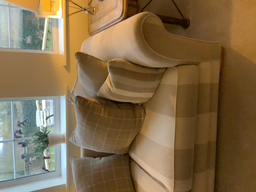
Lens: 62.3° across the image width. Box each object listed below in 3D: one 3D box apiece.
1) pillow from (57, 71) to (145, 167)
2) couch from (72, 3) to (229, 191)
[{"bbox_3d":[-0.180,0.160,1.630,0.190,0.460,0.550,15,133,54],"label":"pillow"},{"bbox_3d":[0.060,0.540,1.740,1.040,0.720,2.100,11,102,59],"label":"couch"}]
